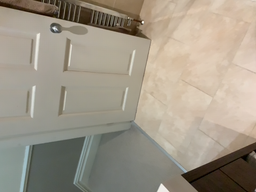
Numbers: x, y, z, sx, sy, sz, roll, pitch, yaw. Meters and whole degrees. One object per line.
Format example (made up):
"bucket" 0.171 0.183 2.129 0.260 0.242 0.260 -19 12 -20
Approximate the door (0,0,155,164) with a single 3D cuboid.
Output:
"door" -0.660 -0.060 1.310 0.170 1.990 0.930 26 111 45
